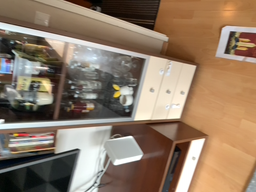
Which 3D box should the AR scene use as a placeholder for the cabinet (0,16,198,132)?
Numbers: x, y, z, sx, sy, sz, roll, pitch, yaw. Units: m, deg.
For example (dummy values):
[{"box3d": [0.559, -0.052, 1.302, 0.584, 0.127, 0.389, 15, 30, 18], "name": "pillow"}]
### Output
[{"box3d": [-0.370, -0.110, 1.100, 0.340, 1.960, 0.440, 27, 108, 46], "name": "cabinet"}]
